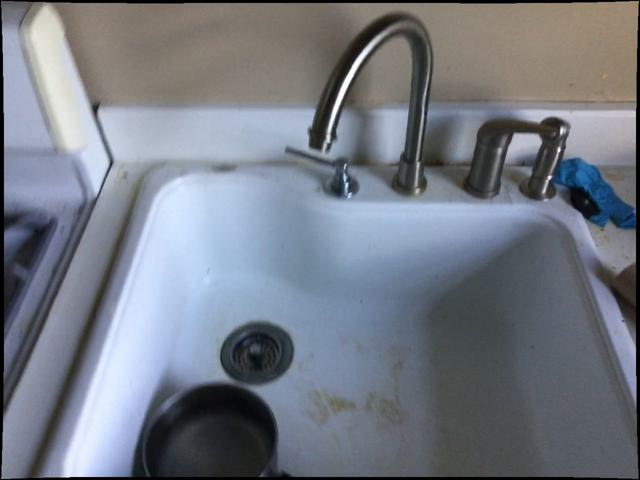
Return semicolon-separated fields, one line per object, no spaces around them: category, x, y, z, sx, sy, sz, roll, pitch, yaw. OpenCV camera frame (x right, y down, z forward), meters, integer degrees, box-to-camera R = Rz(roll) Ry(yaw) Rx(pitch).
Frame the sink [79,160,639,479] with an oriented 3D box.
sink;0.040;0.160;0.800;0.559;0.230;0.561;0;48;0

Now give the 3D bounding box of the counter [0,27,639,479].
counter;0.279;0.060;0.670;1.397;0.280;0.711;0;48;0
